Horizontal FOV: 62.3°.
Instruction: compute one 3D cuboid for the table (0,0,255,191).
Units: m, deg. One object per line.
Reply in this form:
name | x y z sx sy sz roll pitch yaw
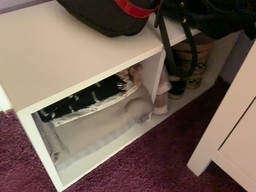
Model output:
table | 0.000 -0.100 0.670 0.730 0.350 0.330 -31 56 -27
